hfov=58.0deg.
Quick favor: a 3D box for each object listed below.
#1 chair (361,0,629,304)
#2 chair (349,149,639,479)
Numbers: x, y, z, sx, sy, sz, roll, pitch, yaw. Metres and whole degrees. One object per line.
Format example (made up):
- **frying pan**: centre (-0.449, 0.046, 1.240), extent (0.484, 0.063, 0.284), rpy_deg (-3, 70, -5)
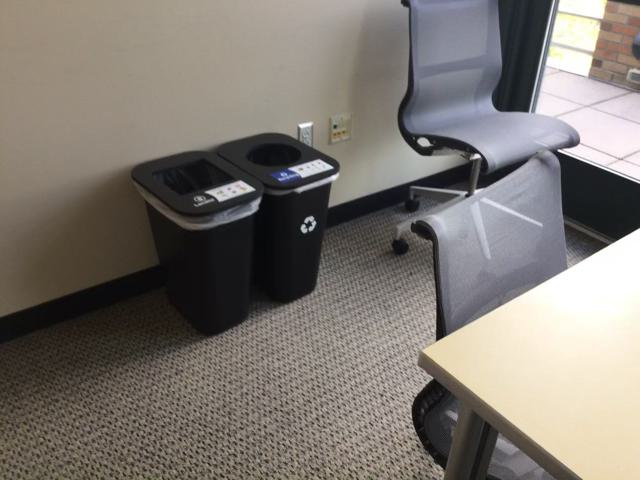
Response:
- **chair**: centre (0.590, -0.400, 2.230), extent (0.530, 0.960, 0.690), rpy_deg (-20, 35, -29)
- **chair**: centre (0.460, 0.310, 1.130), extent (0.560, 0.720, 0.570), rpy_deg (-24, 38, -34)
